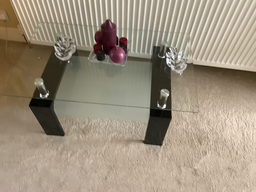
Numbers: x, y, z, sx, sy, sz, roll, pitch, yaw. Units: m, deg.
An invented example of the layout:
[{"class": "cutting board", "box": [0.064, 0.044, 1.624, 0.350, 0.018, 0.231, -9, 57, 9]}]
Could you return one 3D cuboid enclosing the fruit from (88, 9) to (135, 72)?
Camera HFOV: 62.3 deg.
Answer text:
[{"class": "fruit", "box": [-0.090, -0.290, 1.110, 0.200, 0.200, 0.230, -7, 54, -7]}]
